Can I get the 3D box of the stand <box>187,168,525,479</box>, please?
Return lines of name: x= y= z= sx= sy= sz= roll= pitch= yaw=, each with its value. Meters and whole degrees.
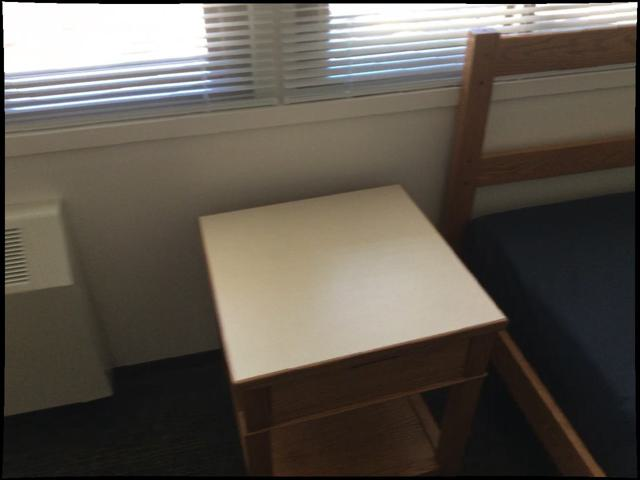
stand: x=0.030 y=0.271 z=1.410 sx=0.579 sy=0.591 sz=0.600 roll=-9 pitch=39 yaw=-9
